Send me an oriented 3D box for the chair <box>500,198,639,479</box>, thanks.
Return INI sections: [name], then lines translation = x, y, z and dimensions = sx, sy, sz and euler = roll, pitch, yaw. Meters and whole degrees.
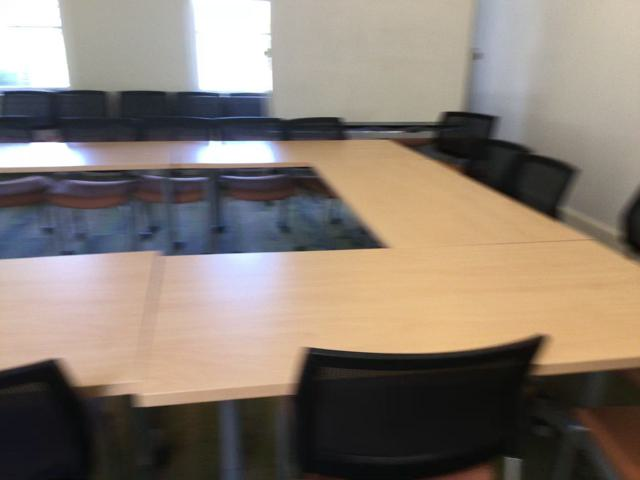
[chair]
translation = 1.080, 0.350, 1.870
dimensions = 0.590, 0.830, 0.720
euler = -2, 17, -12
